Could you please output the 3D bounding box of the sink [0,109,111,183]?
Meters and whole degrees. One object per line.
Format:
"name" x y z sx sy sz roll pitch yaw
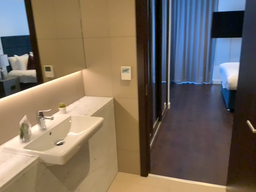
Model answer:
"sink" -0.480 0.300 1.530 0.490 0.150 0.670 3 18 17
